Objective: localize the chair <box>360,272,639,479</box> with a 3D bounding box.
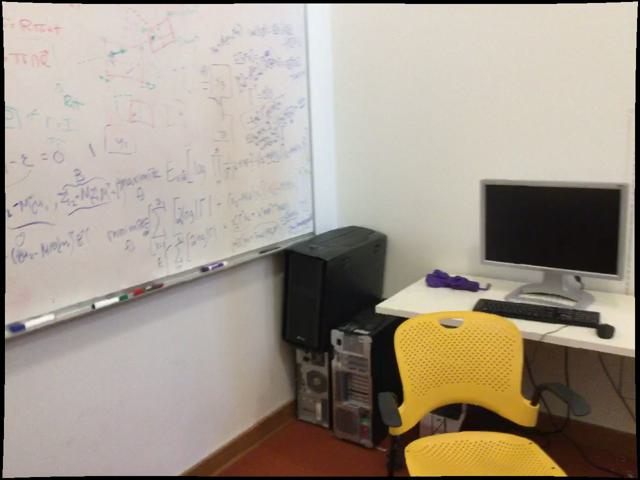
[{"bbox_3d":[0.470,0.621,1.820,0.549,0.821,0.790,-2,14,-6],"label":"chair"}]
